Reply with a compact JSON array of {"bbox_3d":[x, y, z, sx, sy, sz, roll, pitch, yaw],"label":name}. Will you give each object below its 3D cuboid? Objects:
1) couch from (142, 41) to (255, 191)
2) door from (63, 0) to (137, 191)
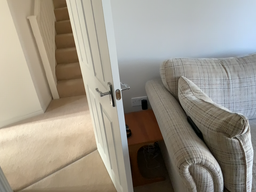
[{"bbox_3d":[1.200,0.170,1.550,2.030,0.900,1.040,-6,28,-2],"label":"couch"},{"bbox_3d":[-0.230,-0.220,1.370,0.090,2.030,0.960,-15,29,-18],"label":"door"}]
